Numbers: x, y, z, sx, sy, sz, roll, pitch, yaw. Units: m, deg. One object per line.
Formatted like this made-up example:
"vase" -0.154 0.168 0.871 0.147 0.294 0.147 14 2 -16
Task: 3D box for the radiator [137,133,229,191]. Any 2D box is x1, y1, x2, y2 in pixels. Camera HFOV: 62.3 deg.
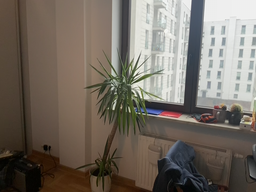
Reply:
"radiator" 0.520 0.780 2.160 0.840 0.620 0.180 8 12 29
